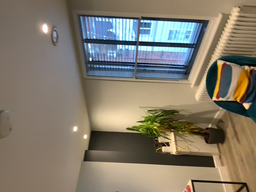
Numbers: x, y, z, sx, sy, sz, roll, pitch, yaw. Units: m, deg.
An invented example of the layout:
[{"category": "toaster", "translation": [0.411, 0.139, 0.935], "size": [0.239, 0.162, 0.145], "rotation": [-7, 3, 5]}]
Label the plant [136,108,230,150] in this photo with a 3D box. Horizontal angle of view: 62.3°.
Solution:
[{"category": "plant", "translation": [0.870, 0.580, 3.650], "size": [0.600, 1.430, 0.380], "rotation": [94, 179, -50]}]

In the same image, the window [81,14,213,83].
[{"category": "window", "translation": [0.200, -0.560, 2.770], "size": [0.980, 1.470, 0.080], "rotation": [94, 179, -53]}]

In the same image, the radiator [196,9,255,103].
[{"category": "radiator", "translation": [1.320, -0.380, 2.650], "size": [1.440, 0.510, 0.090], "rotation": [94, 179, -53]}]
